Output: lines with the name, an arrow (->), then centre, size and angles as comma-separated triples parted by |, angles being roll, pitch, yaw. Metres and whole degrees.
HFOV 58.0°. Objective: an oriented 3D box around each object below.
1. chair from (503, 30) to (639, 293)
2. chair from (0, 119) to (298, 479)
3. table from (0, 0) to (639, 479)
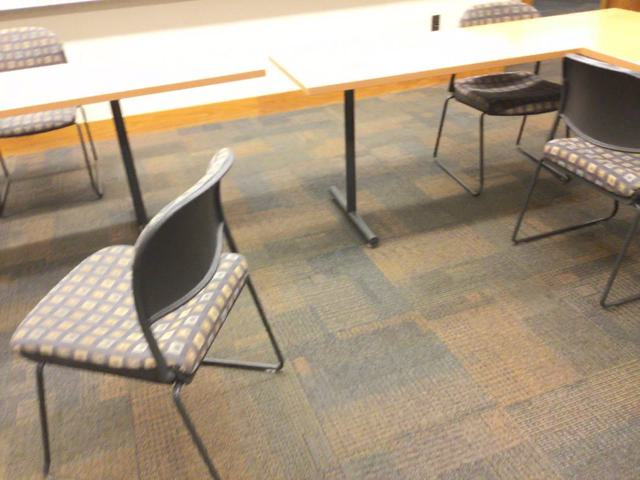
chair -> 1.100, -0.310, 2.010 | 0.630, 0.700, 0.510 | -12, 30, -16
chair -> -0.440, 0.120, 1.410 | 0.590, 0.650, 0.540 | 7, 31, 17
table -> -0.160, 0.330, 1.010 | 4.540, 0.870, 3.940 | -12, 30, -16
